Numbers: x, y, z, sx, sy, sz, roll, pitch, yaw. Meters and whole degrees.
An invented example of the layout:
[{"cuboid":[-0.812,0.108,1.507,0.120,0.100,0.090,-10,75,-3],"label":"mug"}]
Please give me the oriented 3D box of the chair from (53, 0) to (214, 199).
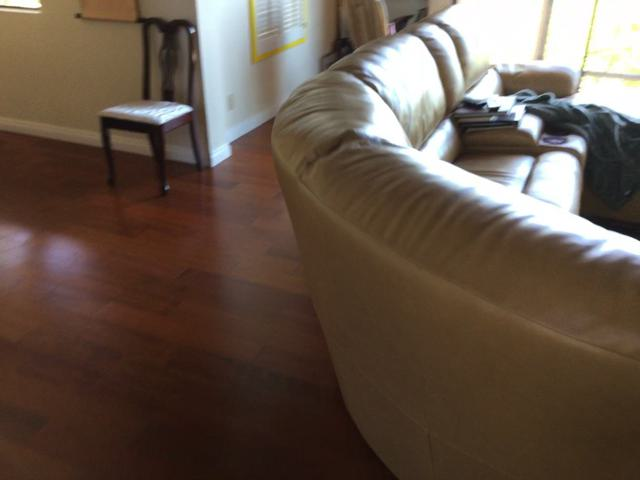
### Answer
[{"cuboid":[-1.050,-0.880,3.420,0.500,1.060,0.590,13,32,21],"label":"chair"}]
